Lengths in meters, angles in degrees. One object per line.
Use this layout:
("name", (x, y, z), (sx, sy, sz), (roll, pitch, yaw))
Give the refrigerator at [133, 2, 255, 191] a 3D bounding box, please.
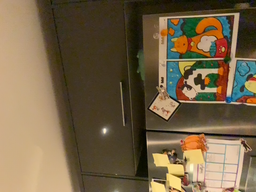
("refrigerator", (1.000, -0.020, 1.130), (0.810, 1.780, 0.920), (-62, -30, -66))
